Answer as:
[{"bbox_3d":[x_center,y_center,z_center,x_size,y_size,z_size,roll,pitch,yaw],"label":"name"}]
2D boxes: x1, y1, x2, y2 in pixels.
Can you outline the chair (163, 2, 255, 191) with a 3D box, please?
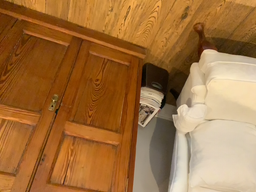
[{"bbox_3d":[0.700,0.200,1.390,0.690,1.030,1.040,8,144,-2],"label":"chair"}]
